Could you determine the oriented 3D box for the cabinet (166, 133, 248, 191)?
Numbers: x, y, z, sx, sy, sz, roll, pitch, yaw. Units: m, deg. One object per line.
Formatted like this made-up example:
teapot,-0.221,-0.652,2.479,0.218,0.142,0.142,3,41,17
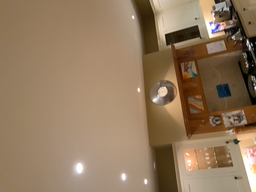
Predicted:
cabinet,1.150,1.140,3.170,0.380,0.970,0.970,49,-147,-60
